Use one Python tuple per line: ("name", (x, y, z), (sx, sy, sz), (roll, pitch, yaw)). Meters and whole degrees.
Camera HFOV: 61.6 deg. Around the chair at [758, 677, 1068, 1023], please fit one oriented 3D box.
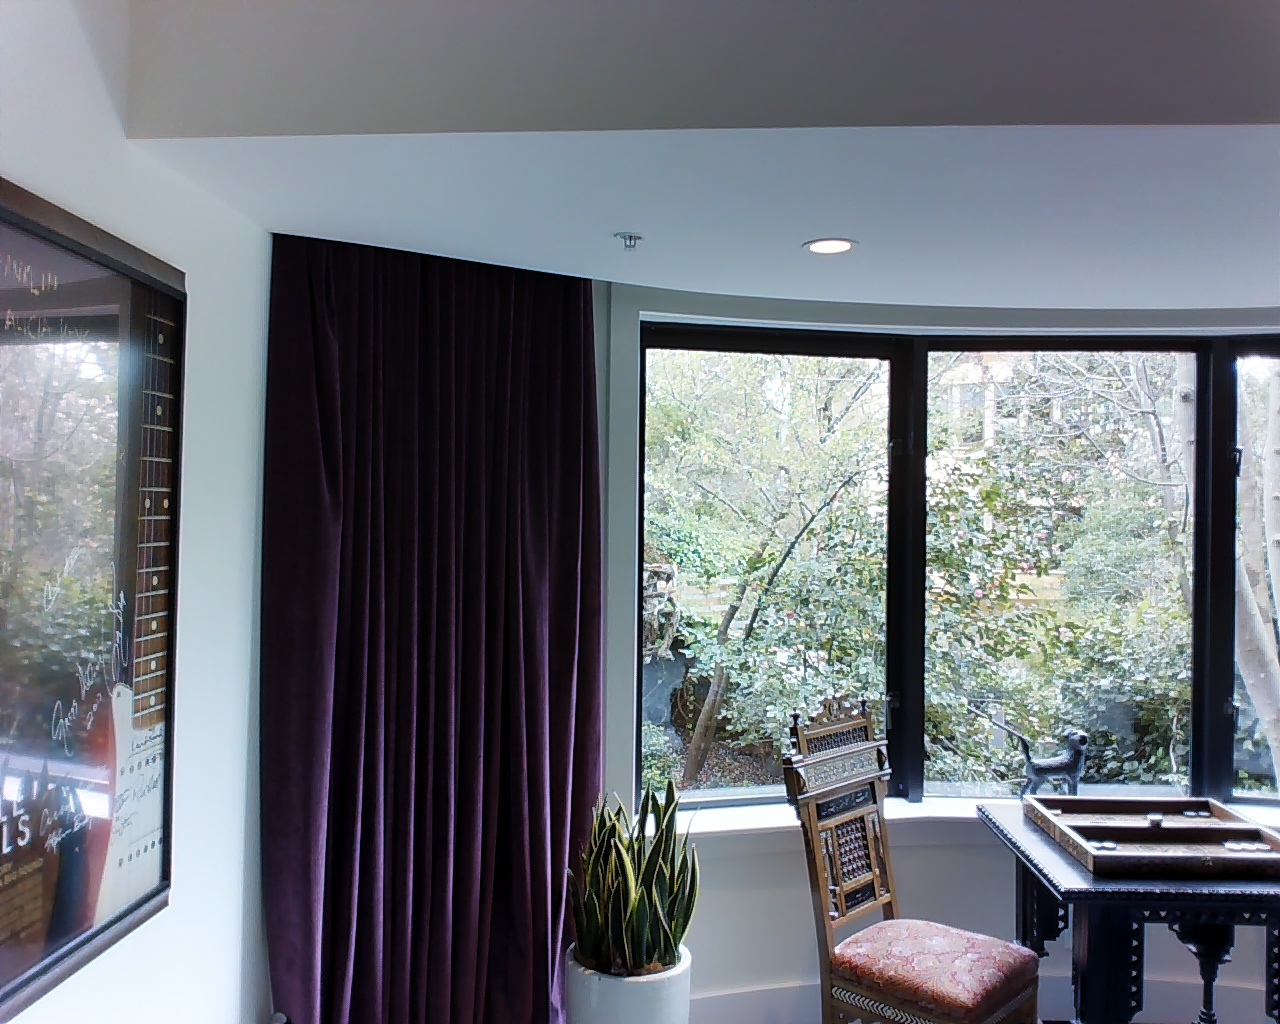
("chair", (0.690, 0.990, 2.740), (0.490, 1.020, 0.590), (1, 0, -44))
